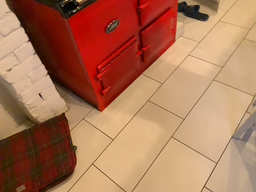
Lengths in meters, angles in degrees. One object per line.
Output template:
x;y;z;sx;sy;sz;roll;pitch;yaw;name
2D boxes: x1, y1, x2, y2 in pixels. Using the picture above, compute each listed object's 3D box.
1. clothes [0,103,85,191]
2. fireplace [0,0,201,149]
-0.700;0.380;1.340;0.740;0.090;0.480;-22;51;-11;clothes
-0.290;-0.870;1.390;0.880;1.500;1.730;32;61;29;fireplace
